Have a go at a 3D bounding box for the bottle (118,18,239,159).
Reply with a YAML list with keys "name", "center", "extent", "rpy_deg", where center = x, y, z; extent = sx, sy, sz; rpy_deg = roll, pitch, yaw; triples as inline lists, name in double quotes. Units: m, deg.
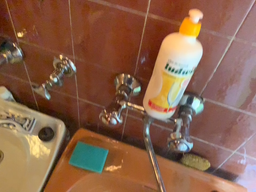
- name: "bottle"
  center: [0.080, 0.000, 0.410]
  extent: [0.150, 0.230, 0.100]
  rpy_deg: [20, 49, 8]
